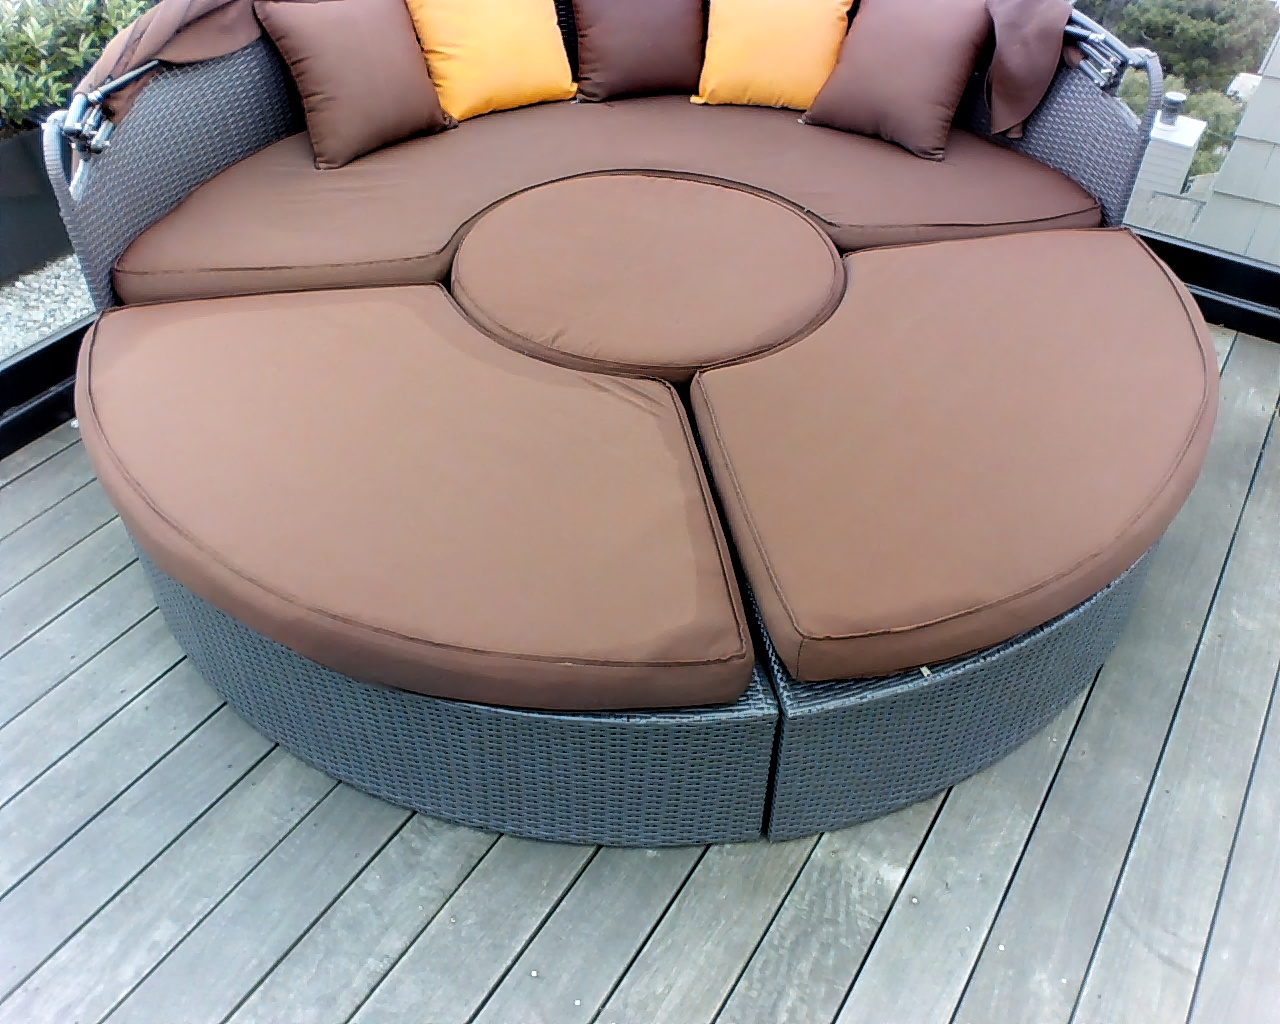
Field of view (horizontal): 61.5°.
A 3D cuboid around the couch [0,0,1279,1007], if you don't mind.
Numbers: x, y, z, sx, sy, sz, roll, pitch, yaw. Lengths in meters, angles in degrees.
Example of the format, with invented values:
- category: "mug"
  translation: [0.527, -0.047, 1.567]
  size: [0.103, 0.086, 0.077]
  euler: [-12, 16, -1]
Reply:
- category: "couch"
  translation: [0.020, -0.410, 2.160]
  size: [2.280, 0.820, 1.960]
  euler: [-9, 43, -10]
